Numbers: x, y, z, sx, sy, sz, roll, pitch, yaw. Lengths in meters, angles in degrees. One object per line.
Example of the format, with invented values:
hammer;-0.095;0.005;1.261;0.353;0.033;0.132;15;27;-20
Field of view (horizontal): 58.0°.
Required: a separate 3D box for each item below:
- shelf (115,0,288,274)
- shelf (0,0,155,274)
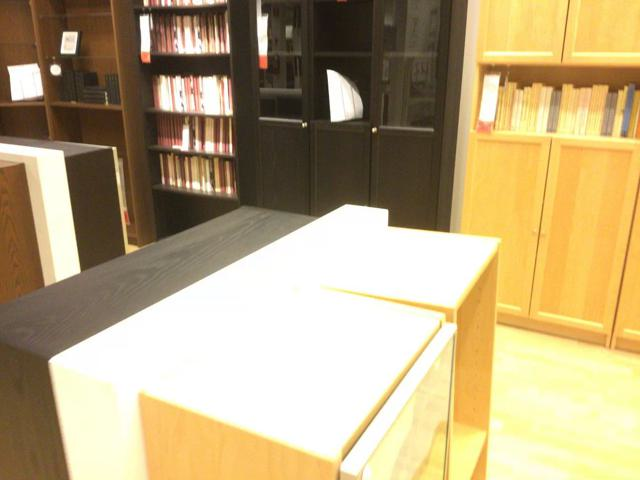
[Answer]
shelf;-0.800;-0.890;3.850;0.890;1.990;0.590;13;19;24
shelf;-2.230;-0.990;3.910;1.850;2.170;1.170;-11;42;-27
